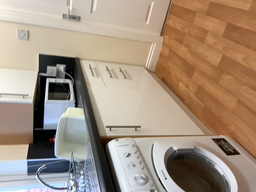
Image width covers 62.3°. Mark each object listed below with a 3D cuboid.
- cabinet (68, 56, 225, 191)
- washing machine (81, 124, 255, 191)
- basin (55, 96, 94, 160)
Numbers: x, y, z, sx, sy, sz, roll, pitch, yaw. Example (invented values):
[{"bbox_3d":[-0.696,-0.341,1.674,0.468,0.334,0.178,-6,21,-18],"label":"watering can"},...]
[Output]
[{"bbox_3d":[-0.010,0.180,1.900,1.230,0.910,0.580,-119,37,-55],"label":"cabinet"},{"bbox_3d":[0.260,0.610,1.130,0.620,0.910,0.670,-119,37,-55],"label":"washing machine"},{"bbox_3d":[-0.420,0.250,1.610,0.170,0.230,0.480,-117,35,-53],"label":"basin"}]
